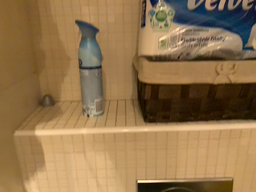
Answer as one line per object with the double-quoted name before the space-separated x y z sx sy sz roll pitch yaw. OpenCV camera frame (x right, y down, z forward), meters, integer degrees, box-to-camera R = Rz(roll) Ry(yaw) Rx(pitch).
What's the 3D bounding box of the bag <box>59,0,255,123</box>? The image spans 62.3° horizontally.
"bag" 0.170 -0.150 0.550 0.610 0.370 0.220 -1 18 1
